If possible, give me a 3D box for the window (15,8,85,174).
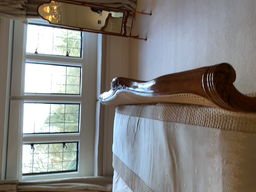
[{"bbox_3d":[-1.500,-0.060,4.140,0.150,1.170,3.040,-175,87,-71],"label":"window"}]

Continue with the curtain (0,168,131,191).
[{"bbox_3d":[-1.110,1.590,3.360,0.370,2.320,0.580,178,94,-71],"label":"curtain"}]

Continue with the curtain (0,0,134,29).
[{"bbox_3d":[-0.980,-1.570,3.520,0.220,2.200,0.560,-178,90,-71],"label":"curtain"}]
